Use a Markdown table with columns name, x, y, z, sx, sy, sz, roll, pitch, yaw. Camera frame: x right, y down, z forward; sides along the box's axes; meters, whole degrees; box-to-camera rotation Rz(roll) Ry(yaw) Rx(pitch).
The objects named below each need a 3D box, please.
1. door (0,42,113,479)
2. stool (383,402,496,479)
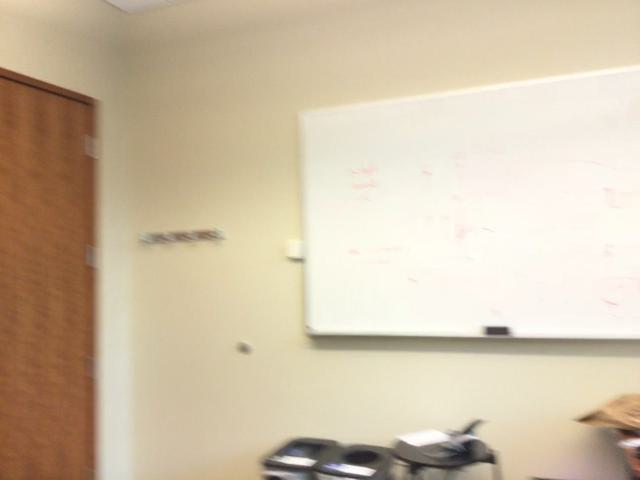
| name | x | y | z | sx | sy | sz | roll | pitch | yaw |
| --- | --- | --- | --- | --- | --- | --- | --- | --- | --- |
| door | -1.380 | 0.340 | 2.620 | 0.190 | 2.370 | 1.140 | -3 | -3 | 14 |
| stool | 0.540 | 0.870 | 2.540 | 0.380 | 0.180 | 0.500 | -4 | -4 | 23 |
